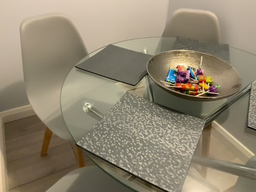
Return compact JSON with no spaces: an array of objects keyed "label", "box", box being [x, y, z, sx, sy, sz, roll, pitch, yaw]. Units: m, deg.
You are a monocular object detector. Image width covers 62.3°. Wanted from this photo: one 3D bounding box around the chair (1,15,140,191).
[{"label":"chair","box":[-0.270,0.050,1.170,0.450,0.790,0.420,32,45,33]}]
